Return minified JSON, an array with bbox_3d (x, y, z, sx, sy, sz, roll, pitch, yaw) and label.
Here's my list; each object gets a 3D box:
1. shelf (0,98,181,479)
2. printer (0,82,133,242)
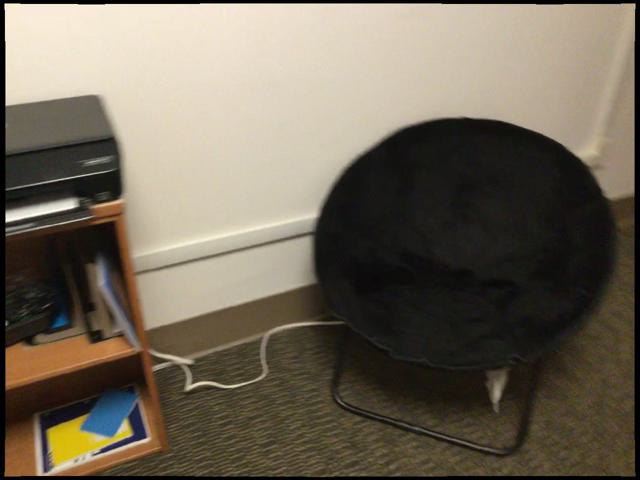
[{"bbox_3d":[-0.878,0.230,1.260,0.959,0.861,0.360,-14,35,-22],"label":"shelf"},{"bbox_3d":[-0.639,-0.150,1.120,0.449,0.160,0.350,-14,35,-21],"label":"printer"}]
